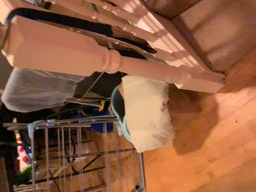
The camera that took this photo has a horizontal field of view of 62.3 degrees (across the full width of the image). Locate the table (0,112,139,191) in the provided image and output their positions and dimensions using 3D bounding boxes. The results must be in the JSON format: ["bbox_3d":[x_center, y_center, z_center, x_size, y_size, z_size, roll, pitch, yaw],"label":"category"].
[{"bbox_3d":[-0.570,0.770,1.650,0.800,0.890,0.990,-48,58,32],"label":"table"}]
